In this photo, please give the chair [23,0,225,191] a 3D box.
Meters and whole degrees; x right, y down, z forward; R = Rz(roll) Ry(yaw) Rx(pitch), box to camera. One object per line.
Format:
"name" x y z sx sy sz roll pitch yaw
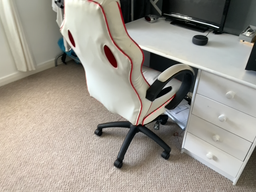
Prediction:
"chair" 0.020 -0.160 1.360 0.650 1.180 0.860 28 44 32
